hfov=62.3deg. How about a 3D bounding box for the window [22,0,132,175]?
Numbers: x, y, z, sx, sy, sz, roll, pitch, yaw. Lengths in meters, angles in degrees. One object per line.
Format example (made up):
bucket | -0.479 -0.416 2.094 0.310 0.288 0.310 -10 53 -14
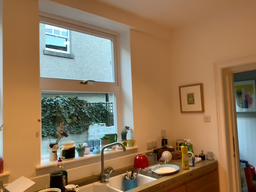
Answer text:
window | -0.520 -0.140 2.310 1.060 1.640 0.400 0 -4 -40

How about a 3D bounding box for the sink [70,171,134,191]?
sink | -0.230 0.830 1.830 0.340 0.190 0.460 0 -4 -42

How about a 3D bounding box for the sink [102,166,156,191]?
sink | 0.000 0.820 2.040 0.280 0.160 0.460 0 -4 -42
